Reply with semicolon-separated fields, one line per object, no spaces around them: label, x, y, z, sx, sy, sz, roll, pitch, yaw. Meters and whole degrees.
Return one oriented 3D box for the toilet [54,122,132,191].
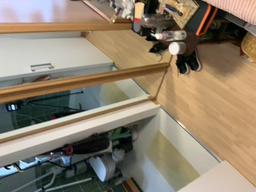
toilet;-0.550;0.940;3.190;0.720;0.860;0.530;45;135;36
